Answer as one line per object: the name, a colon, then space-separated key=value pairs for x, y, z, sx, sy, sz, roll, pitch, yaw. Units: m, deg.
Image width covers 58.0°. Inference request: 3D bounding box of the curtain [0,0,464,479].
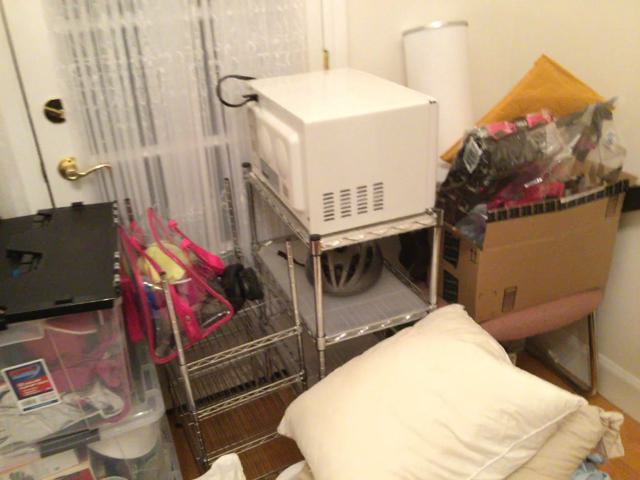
curtain: x=-0.470 y=-0.080 z=1.620 sx=2.020 sy=1.340 sz=0.170 roll=-16 pitch=25 yaw=-21
